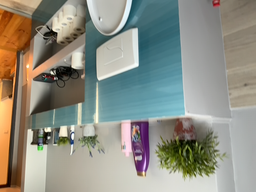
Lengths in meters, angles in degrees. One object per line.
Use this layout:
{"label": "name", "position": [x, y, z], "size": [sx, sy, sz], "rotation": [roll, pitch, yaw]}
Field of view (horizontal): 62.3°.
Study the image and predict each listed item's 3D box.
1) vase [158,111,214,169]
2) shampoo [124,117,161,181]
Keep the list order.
{"label": "vase", "position": [0.240, 0.180, 0.900], "size": [0.120, 0.210, 0.180], "rotation": [7, 168, -40]}
{"label": "shampoo", "position": [0.070, 0.270, 1.120], "size": [0.060, 0.300, 0.200], "rotation": [8, 167, -44]}
